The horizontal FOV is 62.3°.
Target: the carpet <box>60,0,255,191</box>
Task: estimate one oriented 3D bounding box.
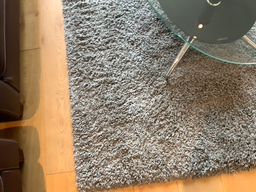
[{"bbox_3d":[0.270,-0.440,1.120,1.230,0.070,1.720,-8,76,0],"label":"carpet"}]
